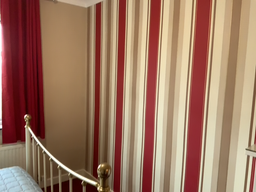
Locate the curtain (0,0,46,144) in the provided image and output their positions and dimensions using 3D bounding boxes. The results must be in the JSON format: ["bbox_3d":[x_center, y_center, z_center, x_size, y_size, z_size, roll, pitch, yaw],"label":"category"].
[{"bbox_3d":[-1.300,-0.430,2.600,0.500,1.930,0.220,-4,8,-42],"label":"curtain"}]
